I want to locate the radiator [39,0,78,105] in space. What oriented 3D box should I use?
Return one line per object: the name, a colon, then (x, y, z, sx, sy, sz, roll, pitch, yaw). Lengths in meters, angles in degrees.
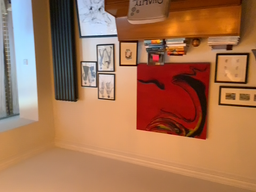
radiator: (-1.060, -0.760, 3.260, 0.510, 1.780, 0.150, 4, -169, 21)
